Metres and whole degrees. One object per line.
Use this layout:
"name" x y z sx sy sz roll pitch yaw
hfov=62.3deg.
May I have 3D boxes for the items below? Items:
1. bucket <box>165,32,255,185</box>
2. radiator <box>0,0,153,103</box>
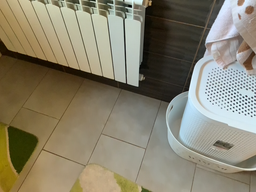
"bucket" 0.510 0.110 1.110 0.440 0.640 0.430 18 59 12
"radiator" -0.390 -0.350 1.250 1.030 0.750 0.110 17 59 11
